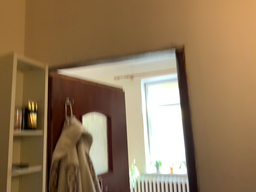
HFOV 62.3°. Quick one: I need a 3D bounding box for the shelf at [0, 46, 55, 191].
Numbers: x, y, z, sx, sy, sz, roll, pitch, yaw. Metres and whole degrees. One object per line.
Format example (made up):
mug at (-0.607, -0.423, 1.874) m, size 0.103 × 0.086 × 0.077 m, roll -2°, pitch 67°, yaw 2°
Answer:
shelf at (-0.490, 0.800, 0.930) m, size 0.180 × 2.010 × 0.260 m, roll -7°, pitch -10°, yaw 24°
